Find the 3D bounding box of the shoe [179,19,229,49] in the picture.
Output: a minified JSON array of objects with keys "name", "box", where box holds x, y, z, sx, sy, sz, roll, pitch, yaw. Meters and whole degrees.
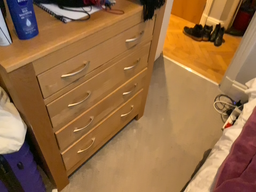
[{"name":"shoe","box":[0.980,-0.810,2.730,0.570,0.100,0.350,16,47,9]}]
